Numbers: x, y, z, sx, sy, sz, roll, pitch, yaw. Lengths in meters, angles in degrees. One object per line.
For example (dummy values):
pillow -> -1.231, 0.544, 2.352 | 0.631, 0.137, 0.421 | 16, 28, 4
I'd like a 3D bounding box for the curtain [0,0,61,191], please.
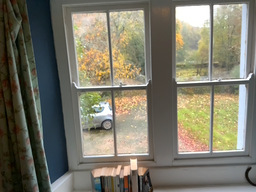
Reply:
curtain -> -0.590, 0.230, 1.110 | 0.310, 1.710, 0.310 | -4, 11, -5
